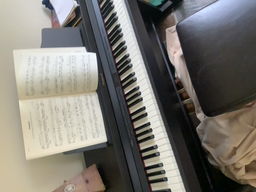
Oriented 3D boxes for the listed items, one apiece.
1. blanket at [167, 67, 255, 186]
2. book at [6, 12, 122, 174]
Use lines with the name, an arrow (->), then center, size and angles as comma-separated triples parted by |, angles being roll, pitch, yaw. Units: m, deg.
blanket -> 0.700, 0.140, 1.100 | 0.830, 0.350, 0.510 | -24, 72, 42
book -> -0.270, 0.000, 0.870 | 0.240, 0.320, 0.530 | -24, 72, 42
